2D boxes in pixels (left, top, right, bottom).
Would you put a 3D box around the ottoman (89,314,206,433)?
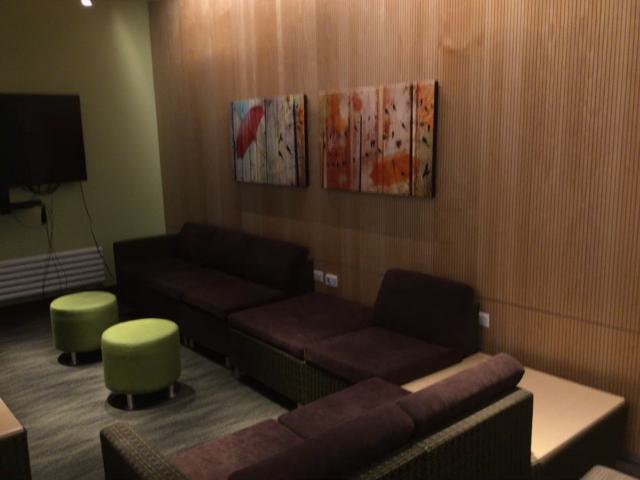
[{"bbox_3d":[-0.970,0.730,3.270,0.460,0.440,0.420,-12,14,-41],"label":"ottoman"}]
